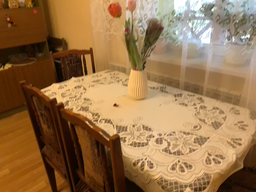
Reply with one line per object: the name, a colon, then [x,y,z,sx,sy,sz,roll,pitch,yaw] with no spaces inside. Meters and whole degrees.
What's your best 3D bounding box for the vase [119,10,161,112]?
vase: [0.080,-0.220,1.350,0.160,0.600,0.190,19,32,37]
